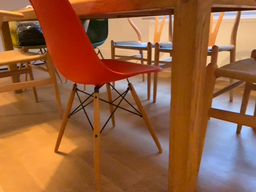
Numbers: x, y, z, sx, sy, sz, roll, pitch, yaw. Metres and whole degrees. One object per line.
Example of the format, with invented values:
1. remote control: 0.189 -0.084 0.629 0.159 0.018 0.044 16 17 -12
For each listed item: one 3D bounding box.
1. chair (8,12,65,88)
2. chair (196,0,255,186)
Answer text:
1. chair: -1.000 -0.520 2.330 0.400 0.730 0.440 -13 23 -30
2. chair: 0.620 -0.060 0.870 0.420 0.750 0.440 -17 25 -37
